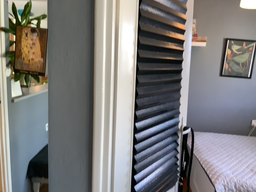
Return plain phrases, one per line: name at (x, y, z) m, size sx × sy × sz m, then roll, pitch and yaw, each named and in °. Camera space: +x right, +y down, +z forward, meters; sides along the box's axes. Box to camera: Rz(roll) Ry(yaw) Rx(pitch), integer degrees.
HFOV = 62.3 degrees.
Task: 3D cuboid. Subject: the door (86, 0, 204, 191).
door at (0.140, 0.240, 1.210) m, size 0.110 × 2.020 × 0.890 m, roll 10°, pitch 12°, yaw 36°
